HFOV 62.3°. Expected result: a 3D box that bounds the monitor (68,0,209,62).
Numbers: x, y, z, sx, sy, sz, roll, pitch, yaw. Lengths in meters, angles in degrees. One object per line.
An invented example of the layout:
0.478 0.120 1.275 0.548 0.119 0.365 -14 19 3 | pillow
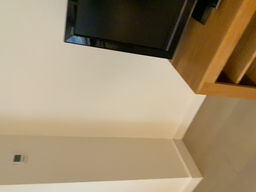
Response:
0.120 -0.610 0.920 0.040 0.670 0.980 -108 27 -47 | monitor
